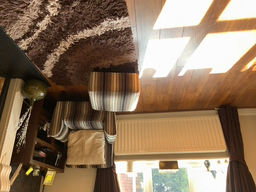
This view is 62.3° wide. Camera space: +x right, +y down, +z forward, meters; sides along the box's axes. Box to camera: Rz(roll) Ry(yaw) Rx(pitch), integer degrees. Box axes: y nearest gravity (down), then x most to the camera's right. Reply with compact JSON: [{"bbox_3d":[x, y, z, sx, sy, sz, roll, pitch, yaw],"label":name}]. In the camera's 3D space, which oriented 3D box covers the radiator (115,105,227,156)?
[{"bbox_3d":[0.580,0.510,3.140,1.540,0.670,0.110,-4,154,7],"label":"radiator"}]
